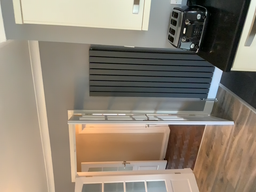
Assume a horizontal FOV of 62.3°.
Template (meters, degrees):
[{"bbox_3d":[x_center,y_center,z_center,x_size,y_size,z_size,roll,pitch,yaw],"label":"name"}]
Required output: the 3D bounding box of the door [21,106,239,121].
[{"bbox_3d":[0.070,0.210,2.700,0.650,2.480,0.050,-143,54,-79],"label":"door"}]
